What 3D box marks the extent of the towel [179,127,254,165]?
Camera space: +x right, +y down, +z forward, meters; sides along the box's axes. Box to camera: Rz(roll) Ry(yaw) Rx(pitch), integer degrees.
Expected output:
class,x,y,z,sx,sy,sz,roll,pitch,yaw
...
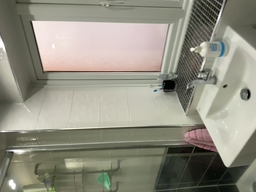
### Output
class,x,y,z,sx,sy,sz,roll,pitch,yaw
towel,0.610,0.360,1.510,0.080,0.420,0.310,-99,10,-49

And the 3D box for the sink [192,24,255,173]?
class,x,y,z,sx,sy,sz,roll,pitch,yaw
sink,0.580,0.020,1.110,0.460,0.170,0.620,-100,12,-50

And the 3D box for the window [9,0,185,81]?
class,x,y,z,sx,sy,sz,roll,pitch,yaw
window,-0.190,-0.610,1.490,0.210,1.110,1.090,-99,10,-48
